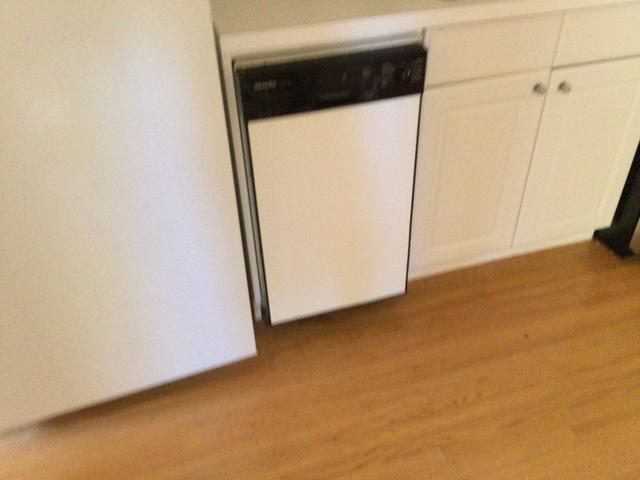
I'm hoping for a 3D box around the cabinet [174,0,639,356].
[{"bbox_3d":[0.330,-0.360,1.800,1.340,0.970,0.640,-12,37,-8],"label":"cabinet"}]

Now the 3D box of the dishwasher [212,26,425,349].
[{"bbox_3d":[0.030,-0.100,1.580,0.470,0.840,0.150,-12,37,-8],"label":"dishwasher"}]
